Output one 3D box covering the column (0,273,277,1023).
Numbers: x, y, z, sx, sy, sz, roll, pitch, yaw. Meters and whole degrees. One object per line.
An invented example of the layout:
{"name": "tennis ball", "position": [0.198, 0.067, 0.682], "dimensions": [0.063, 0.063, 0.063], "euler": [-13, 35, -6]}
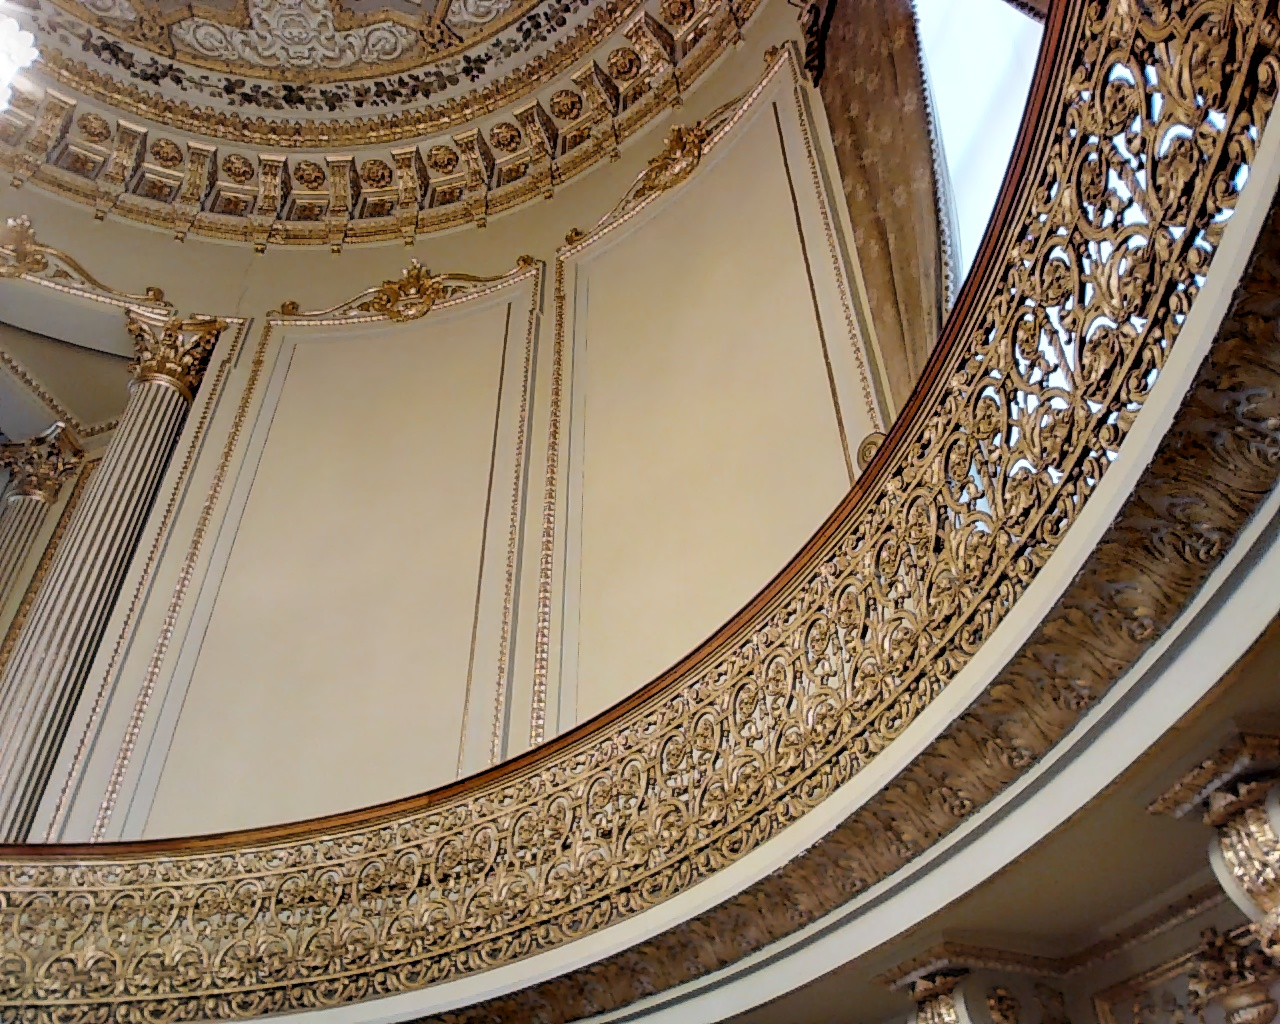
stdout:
{"name": "column", "position": [-2.828, 0.510, 5.560], "dimensions": [0.839, 4.532, 0.780], "euler": [9, -43, -10]}
